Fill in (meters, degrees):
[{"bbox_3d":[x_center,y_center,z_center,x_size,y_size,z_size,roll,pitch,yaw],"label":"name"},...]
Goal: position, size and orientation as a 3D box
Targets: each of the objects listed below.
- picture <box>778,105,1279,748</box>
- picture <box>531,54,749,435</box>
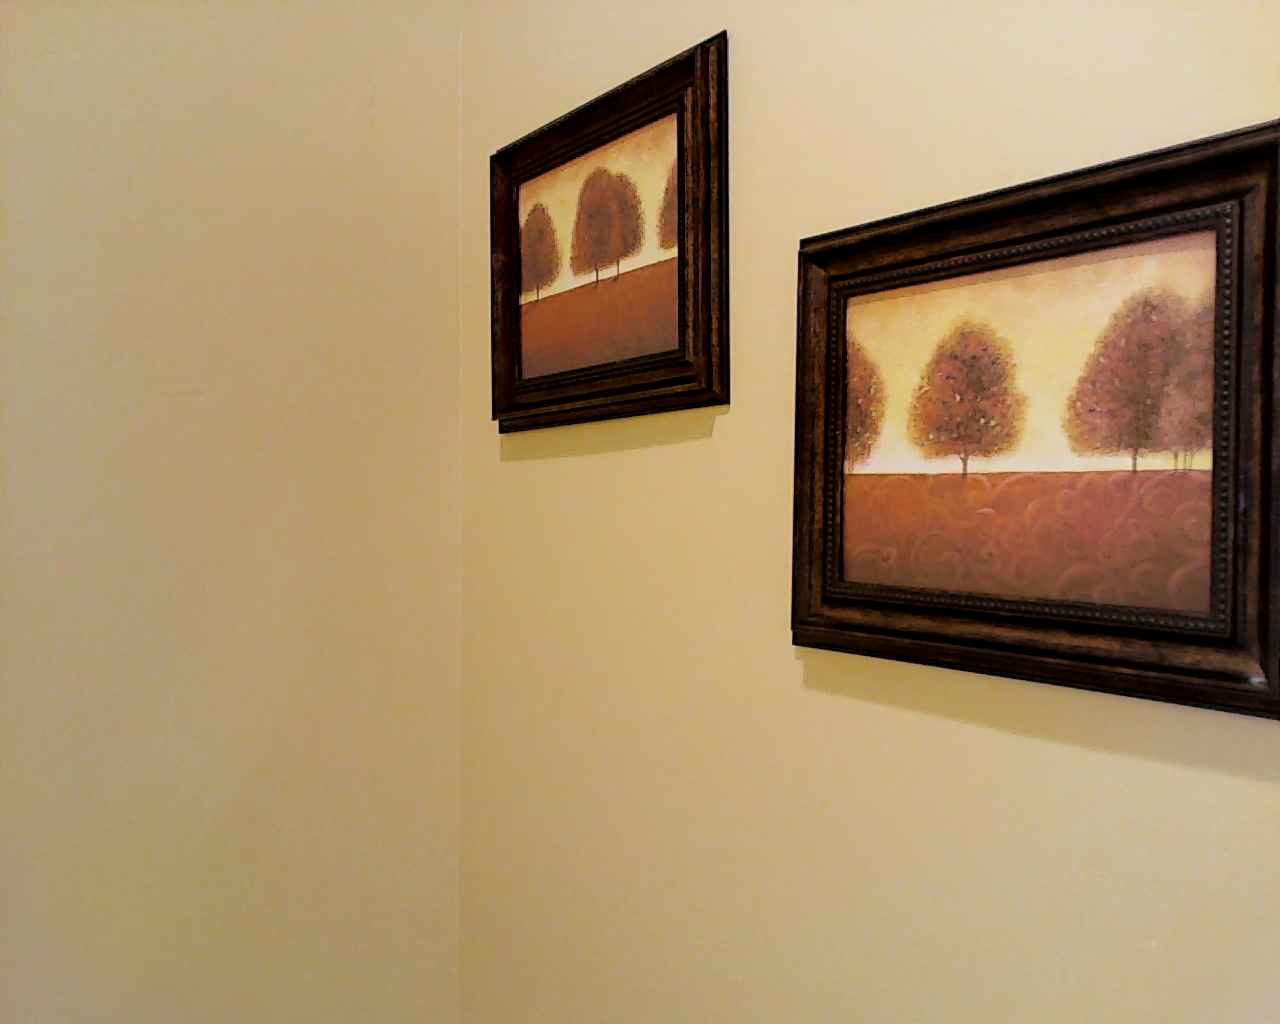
[{"bbox_3d":[0.210,-0.040,0.630,0.020,0.300,0.340,1,-1,-37],"label":"picture"},{"bbox_3d":[-0.010,-0.210,0.920,0.030,0.270,0.270,1,-1,-37],"label":"picture"}]
